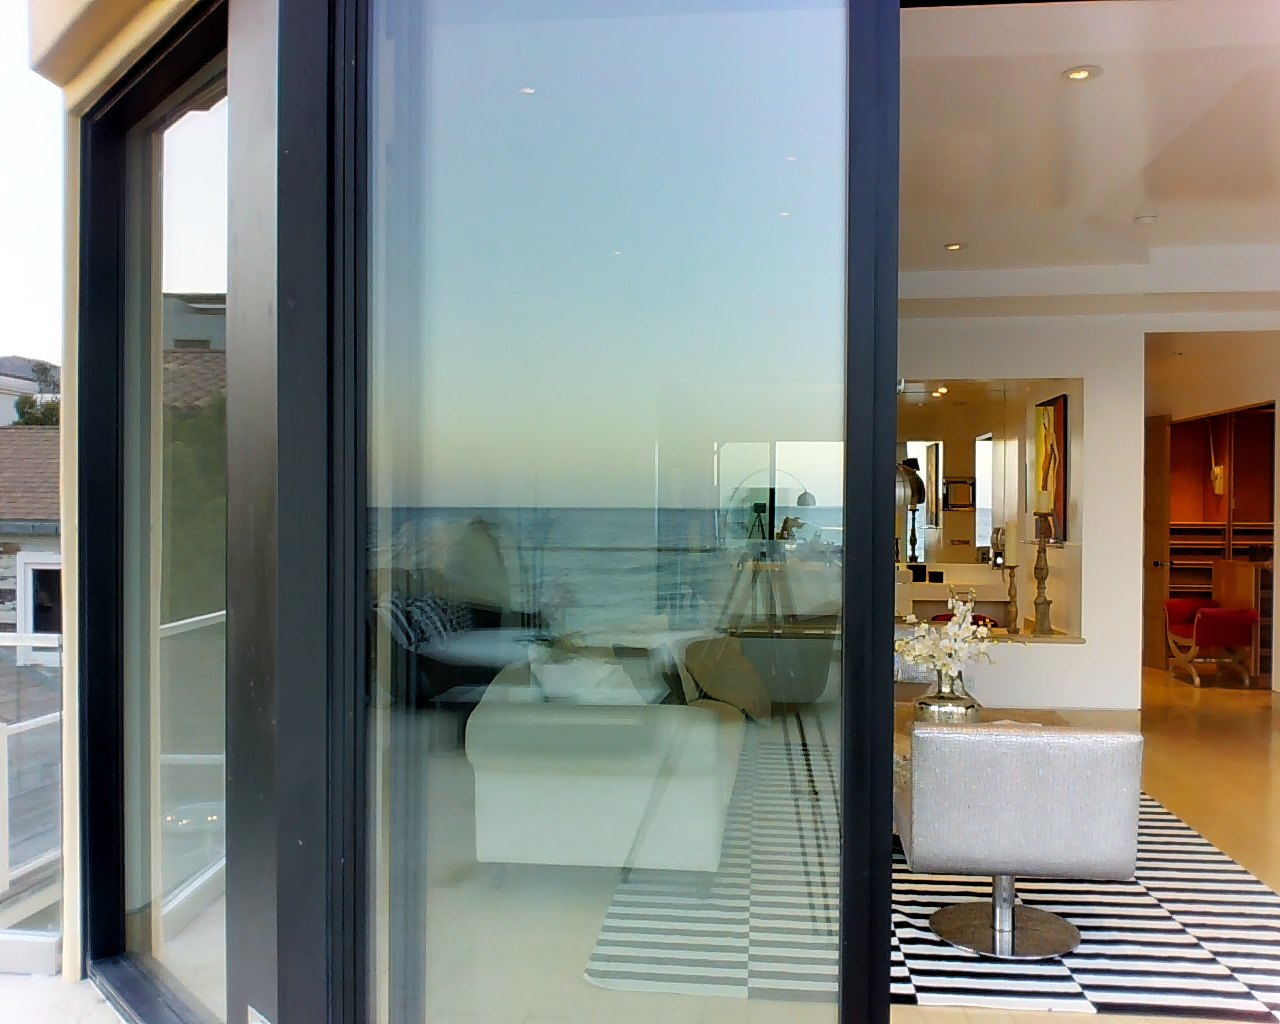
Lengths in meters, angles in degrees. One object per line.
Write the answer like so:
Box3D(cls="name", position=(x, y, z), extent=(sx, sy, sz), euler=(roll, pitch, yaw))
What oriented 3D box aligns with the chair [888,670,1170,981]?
Box3D(cls="chair", position=(1.299, 1.030, 3.760), extent=(0.770, 0.810, 0.820), euler=(0, 1, 8))
